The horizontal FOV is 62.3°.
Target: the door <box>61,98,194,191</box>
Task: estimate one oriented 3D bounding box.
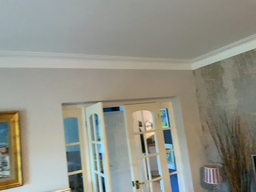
[{"bbox_3d":[0.120,1.040,2.980,1.890,1.930,0.160,-3,-7,-31],"label":"door"}]

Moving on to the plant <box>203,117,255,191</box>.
[{"bbox_3d":[1.360,1.100,2.750,0.280,1.610,0.410,-2,-8,-37],"label":"plant"}]
